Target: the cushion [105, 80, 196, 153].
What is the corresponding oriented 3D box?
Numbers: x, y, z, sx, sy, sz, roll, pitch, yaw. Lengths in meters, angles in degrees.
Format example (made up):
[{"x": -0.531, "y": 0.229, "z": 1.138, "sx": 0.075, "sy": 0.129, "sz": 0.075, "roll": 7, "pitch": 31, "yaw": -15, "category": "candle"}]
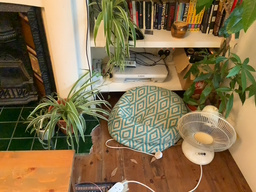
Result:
[{"x": 0.150, "y": 0.140, "z": 1.640, "sx": 0.590, "sy": 0.240, "sz": 0.480, "roll": 5, "pitch": 41, "yaw": -1, "category": "cushion"}]
